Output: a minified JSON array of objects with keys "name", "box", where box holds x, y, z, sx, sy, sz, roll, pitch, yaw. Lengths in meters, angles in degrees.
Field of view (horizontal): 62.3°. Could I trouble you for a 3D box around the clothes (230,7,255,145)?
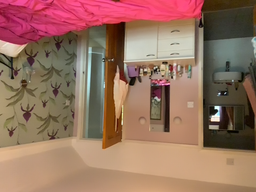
[{"name":"clothes","box":[1.480,-0.210,2.460,0.250,1.490,0.590,2,176,-4]}]
